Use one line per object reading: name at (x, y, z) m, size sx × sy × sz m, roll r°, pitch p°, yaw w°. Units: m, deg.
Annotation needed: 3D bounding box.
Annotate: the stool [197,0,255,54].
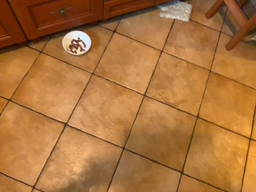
stool at (0.680, -0.530, 1.180) m, size 0.290 × 0.450 × 0.330 m, roll -19°, pitch 74°, yaw -15°
